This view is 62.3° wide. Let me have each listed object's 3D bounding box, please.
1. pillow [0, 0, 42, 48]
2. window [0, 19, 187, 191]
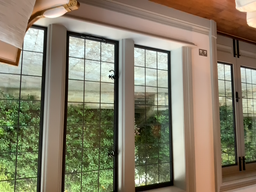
[{"bbox_3d":[-0.810,-0.520,1.350,0.150,0.390,0.500,20,-155,24],"label":"pillow"},{"bbox_3d":[-0.430,0.210,2.220,2.550,1.670,0.160,3,174,-27],"label":"window"}]
